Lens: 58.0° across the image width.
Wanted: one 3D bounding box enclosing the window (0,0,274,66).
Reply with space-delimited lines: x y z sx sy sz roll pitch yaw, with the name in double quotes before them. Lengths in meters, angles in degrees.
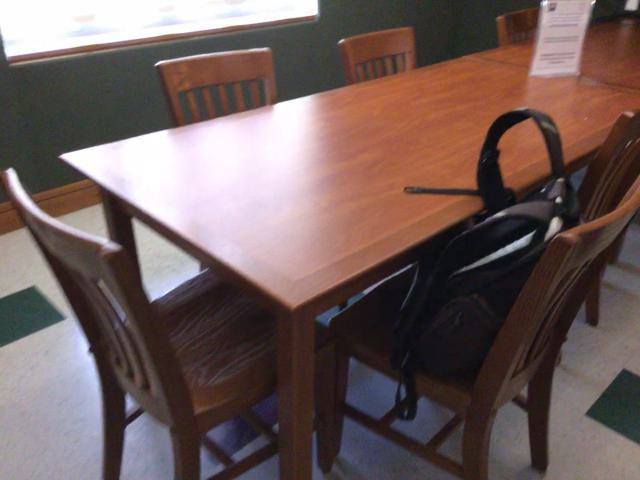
"window" -0.820 -1.370 2.710 0.140 0.830 1.430 26 39 38
